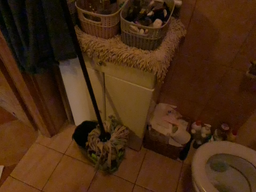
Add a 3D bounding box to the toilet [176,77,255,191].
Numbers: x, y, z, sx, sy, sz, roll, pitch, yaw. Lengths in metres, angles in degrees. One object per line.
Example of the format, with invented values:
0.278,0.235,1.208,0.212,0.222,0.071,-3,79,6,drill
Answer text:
0.640,0.400,1.010,0.620,0.780,0.380,19,53,10,toilet
